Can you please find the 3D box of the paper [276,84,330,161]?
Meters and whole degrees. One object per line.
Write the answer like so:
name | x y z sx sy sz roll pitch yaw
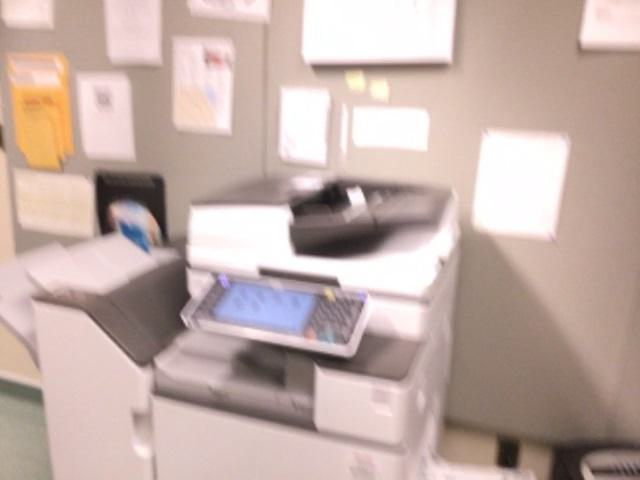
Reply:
paper | -0.050 -0.350 1.720 0.160 0.220 0.020 5 15 19

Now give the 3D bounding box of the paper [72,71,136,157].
paper | -0.740 -0.430 1.980 0.220 0.280 0.020 5 15 19

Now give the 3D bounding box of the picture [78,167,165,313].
picture | -0.710 0.000 2.070 0.300 0.510 0.030 5 15 19

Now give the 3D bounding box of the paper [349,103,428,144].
paper | 0.190 -0.330 1.630 0.220 0.110 0.020 5 15 19

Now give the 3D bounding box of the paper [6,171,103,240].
paper | -0.990 -0.130 2.150 0.400 0.230 0.020 5 15 19

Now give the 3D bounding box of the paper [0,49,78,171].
paper | -1.000 -0.460 2.060 0.250 0.410 0.040 5 15 19

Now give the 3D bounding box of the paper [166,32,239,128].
paper | -0.370 -0.500 1.820 0.230 0.280 0.030 6 15 21

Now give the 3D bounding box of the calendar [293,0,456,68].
calendar | 0.140 -0.770 1.520 0.440 0.600 0.040 5 15 19

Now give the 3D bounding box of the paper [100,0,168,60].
paper | -0.600 -0.730 1.850 0.230 0.290 0.020 5 15 19
